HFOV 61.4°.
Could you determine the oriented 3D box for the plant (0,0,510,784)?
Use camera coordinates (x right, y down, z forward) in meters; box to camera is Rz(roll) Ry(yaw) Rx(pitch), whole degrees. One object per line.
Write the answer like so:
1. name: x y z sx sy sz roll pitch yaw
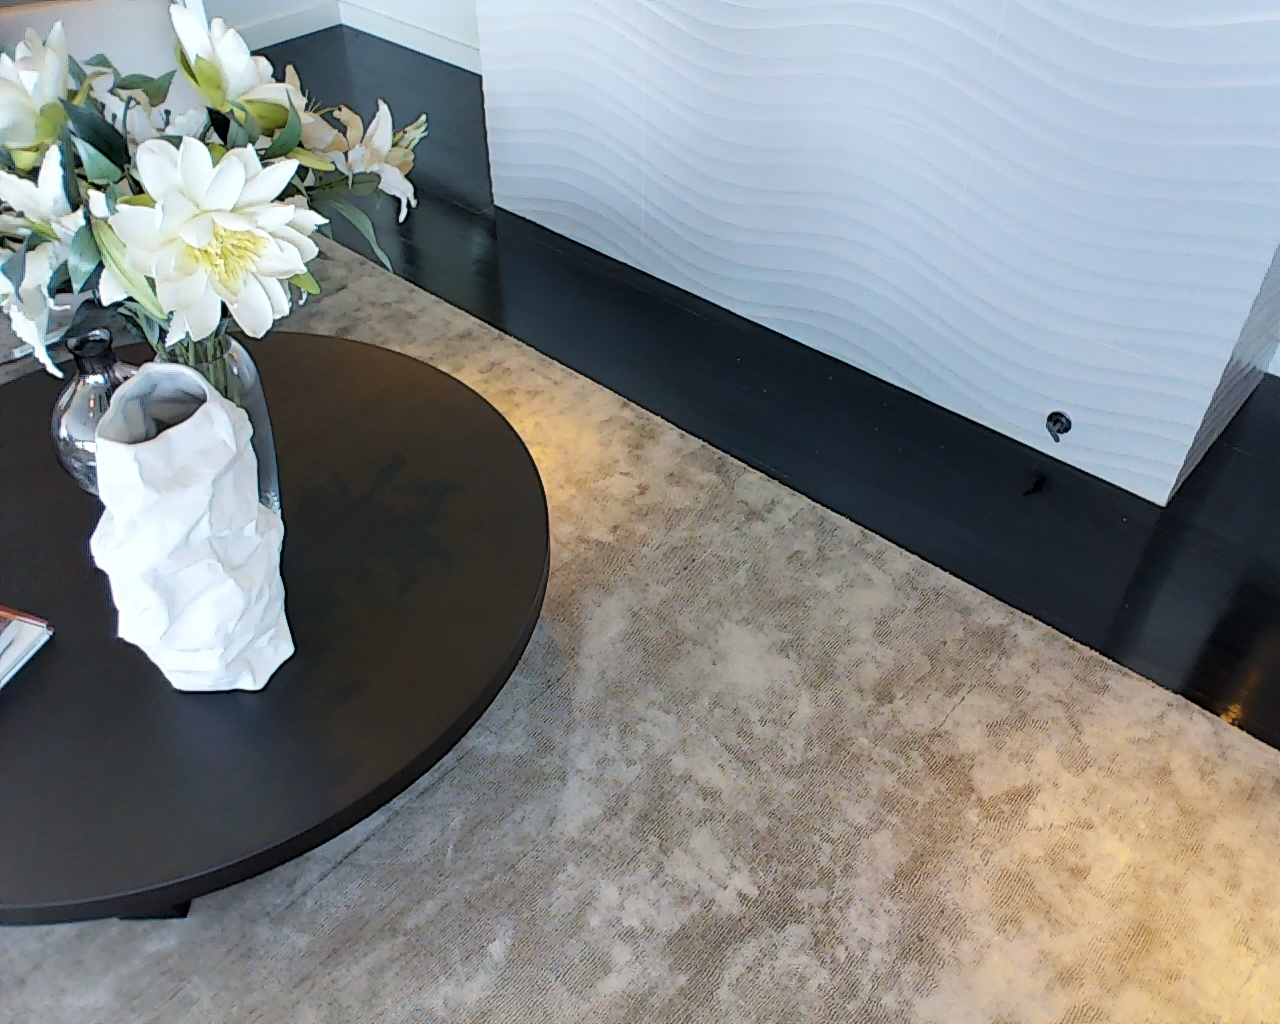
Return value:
1. plant: -0.580 -0.230 1.430 0.490 0.750 0.760 13 44 14
